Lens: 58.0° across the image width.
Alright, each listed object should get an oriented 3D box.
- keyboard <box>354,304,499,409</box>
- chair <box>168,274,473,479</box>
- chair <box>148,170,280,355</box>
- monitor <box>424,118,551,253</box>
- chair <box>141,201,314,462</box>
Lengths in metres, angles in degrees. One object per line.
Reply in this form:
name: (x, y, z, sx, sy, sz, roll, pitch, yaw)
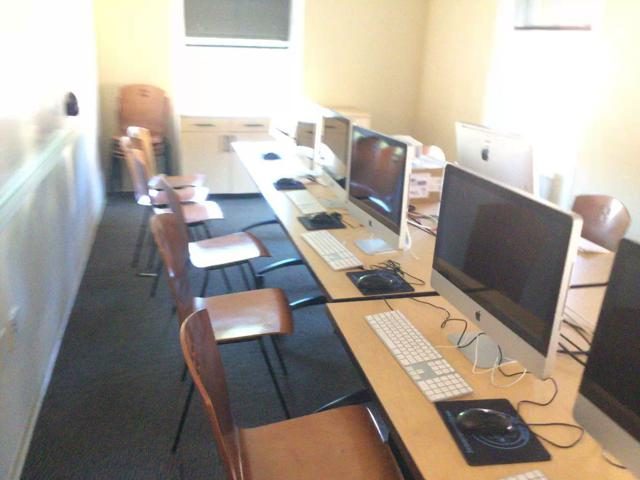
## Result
keyboard: (0.250, 0.280, 1.490, 0.180, 0.030, 0.470, -3, 18, -16)
chair: (-0.050, 0.570, 1.470, 0.600, 0.800, 0.500, -3, 18, -16)
chair: (-0.530, 0.080, 2.840, 0.560, 0.750, 0.510, -3, 18, -16)
monitor: (0.630, -0.240, 2.280, 0.170, 0.420, 0.560, -3, 18, -16)
chair: (-0.370, 0.310, 2.230, 0.560, 0.810, 0.500, -3, 18, -16)
